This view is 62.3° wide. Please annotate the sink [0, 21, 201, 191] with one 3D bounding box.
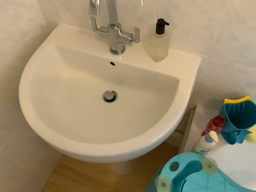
[{"bbox_3d":[-0.120,0.010,0.800,0.640,0.200,0.470,18,59,14],"label":"sink"}]
